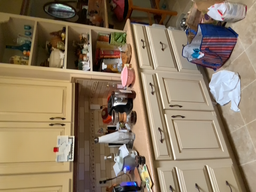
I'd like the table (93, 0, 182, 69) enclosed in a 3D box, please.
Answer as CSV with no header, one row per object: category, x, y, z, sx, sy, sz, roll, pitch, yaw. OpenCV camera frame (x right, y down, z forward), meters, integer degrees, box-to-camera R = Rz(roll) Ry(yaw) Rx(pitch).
table,0.060,-1.290,3.420,0.680,1.080,1.510,121,147,-55

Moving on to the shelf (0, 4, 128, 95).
shelf,-0.820,-0.480,2.330,0.450,1.510,0.740,121,147,-55

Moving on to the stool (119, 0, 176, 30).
stool,0.280,-1.420,3.320,0.430,0.730,0.460,122,146,-56
